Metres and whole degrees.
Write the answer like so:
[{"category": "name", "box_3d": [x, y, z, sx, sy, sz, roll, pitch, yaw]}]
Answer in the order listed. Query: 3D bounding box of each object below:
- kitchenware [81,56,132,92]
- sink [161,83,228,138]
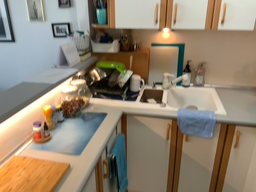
[{"category": "kitchenware", "box_3d": [-0.160, -0.190, 1.710, 0.320, 0.200, 0.270, 6, 23, 14]}, {"category": "sink", "box_3d": [0.480, 0.080, 1.630, 0.410, 0.190, 0.490, 5, 23, 11]}]
